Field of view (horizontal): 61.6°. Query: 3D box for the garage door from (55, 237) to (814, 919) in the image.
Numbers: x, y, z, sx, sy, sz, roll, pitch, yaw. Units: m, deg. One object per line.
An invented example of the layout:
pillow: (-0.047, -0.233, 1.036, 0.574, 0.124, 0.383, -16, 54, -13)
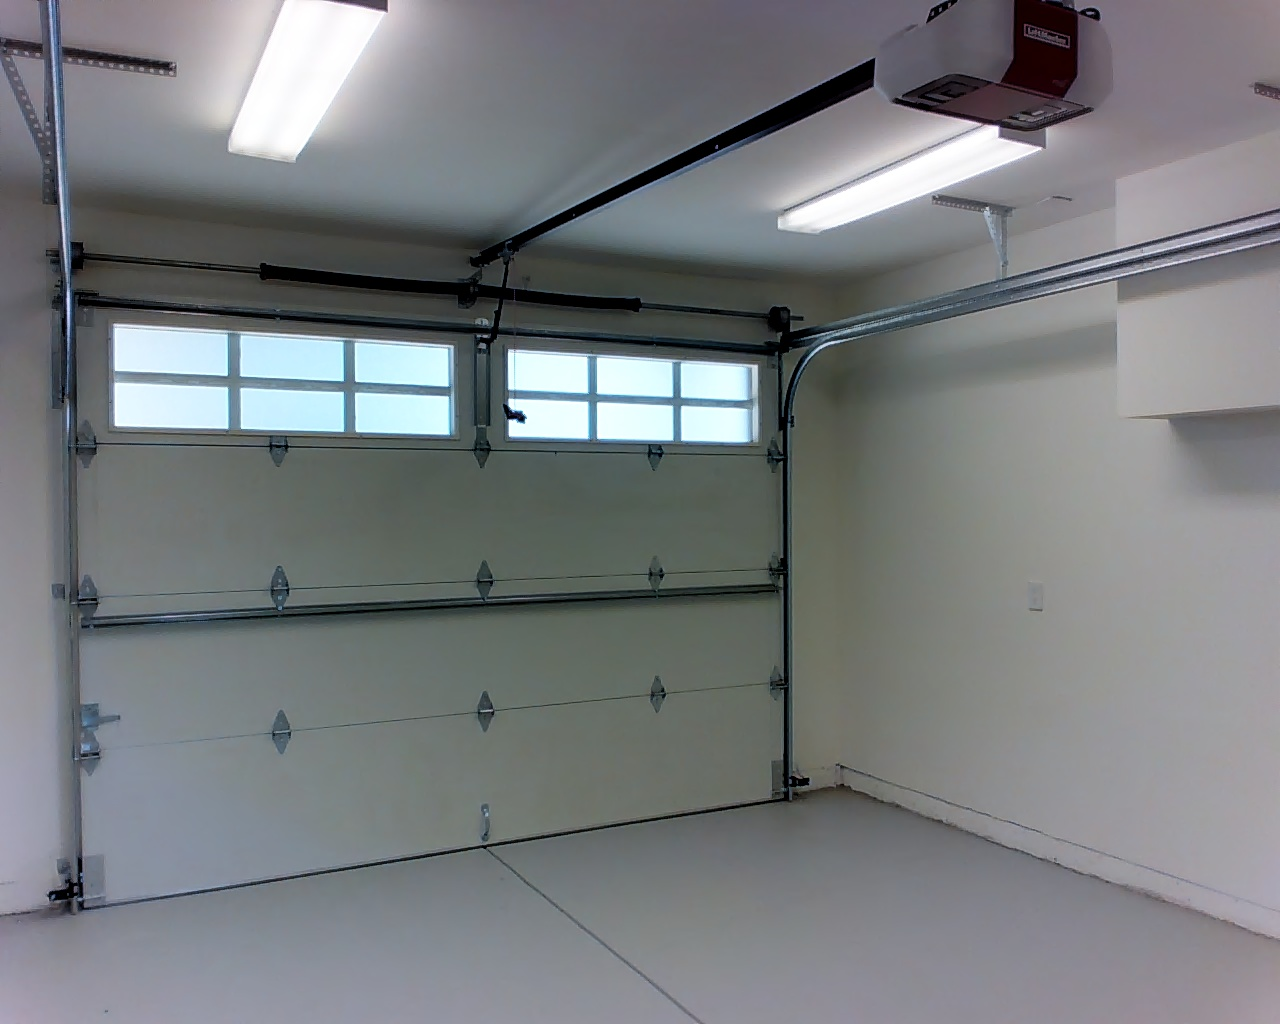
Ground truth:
garage door: (-0.700, 0.240, 5.060, 3.580, 2.660, 0.150, -1, 0, -27)
